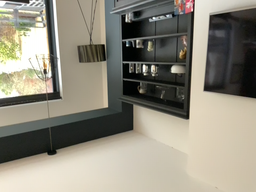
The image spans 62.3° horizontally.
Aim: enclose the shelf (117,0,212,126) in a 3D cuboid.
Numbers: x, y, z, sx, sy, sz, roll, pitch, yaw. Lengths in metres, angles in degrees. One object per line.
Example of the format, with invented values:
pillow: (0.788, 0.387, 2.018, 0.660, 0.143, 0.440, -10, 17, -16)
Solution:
shelf: (0.390, -0.480, 2.910, 0.360, 1.420, 1.370, -9, -166, -35)
